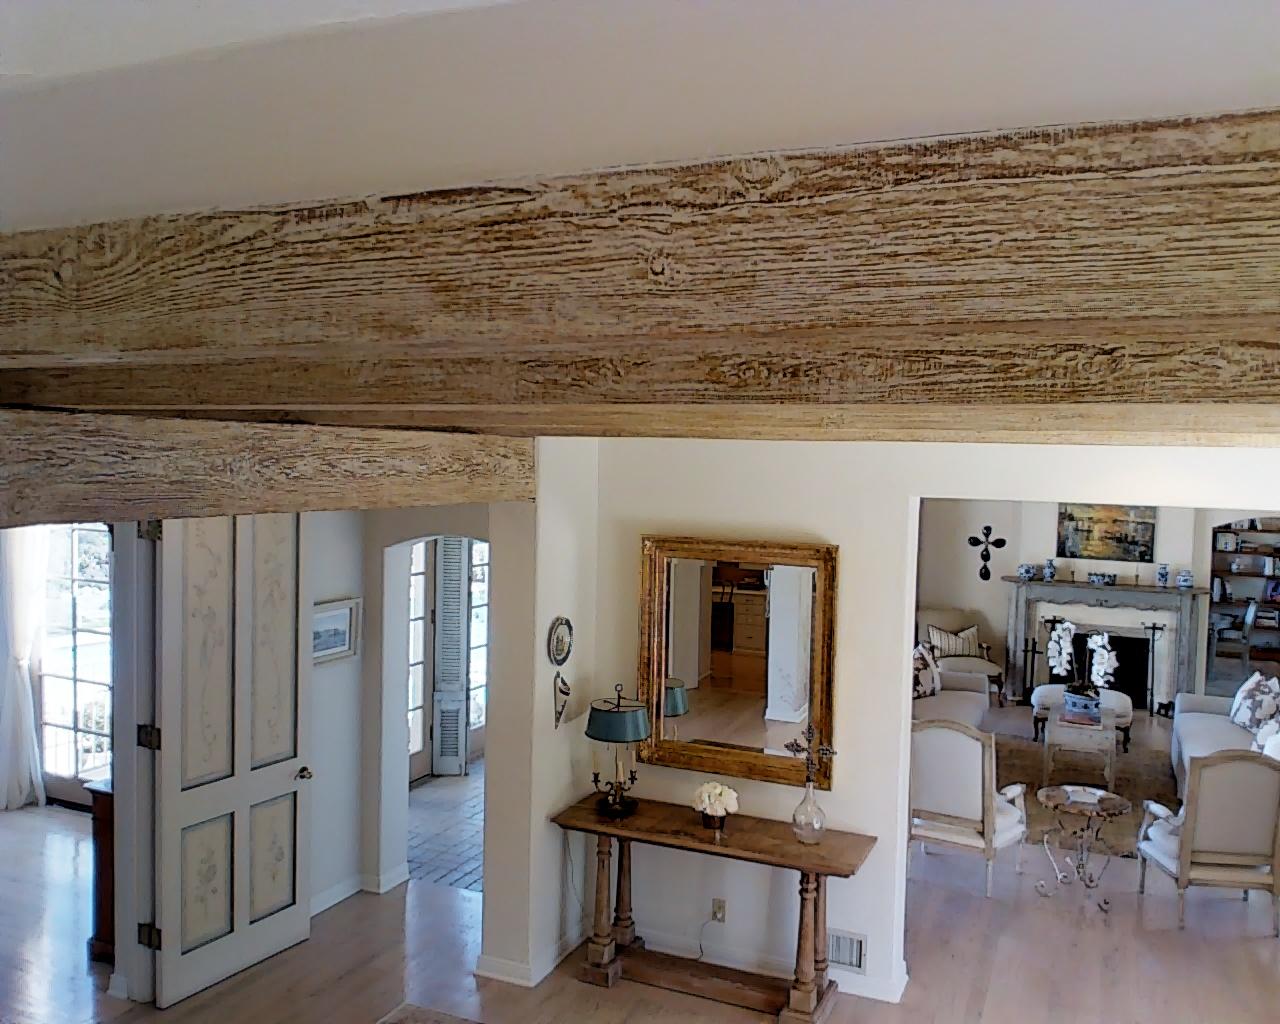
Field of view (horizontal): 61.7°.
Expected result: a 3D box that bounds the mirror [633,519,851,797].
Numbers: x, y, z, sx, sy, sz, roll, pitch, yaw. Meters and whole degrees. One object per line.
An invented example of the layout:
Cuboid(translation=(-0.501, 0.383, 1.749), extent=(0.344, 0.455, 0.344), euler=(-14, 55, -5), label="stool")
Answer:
Cuboid(translation=(0.500, 0.710, 5.440), extent=(1.080, 1.300, 0.130), euler=(2, 3, 23), label="mirror")
